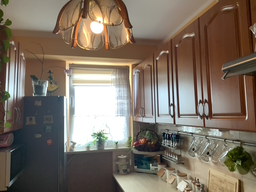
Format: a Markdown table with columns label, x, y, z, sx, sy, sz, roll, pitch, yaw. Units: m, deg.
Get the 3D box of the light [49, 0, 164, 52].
| label | x | y | z | sx | sy | sz | roll | pitch | yaw |
| --- | --- | --- | --- | --- | --- | --- | --- | --- | --- |
| light | -0.150 | -0.600 | 1.060 | 0.450 | 0.410 | 0.630 | -6 | -93 | -12 |
